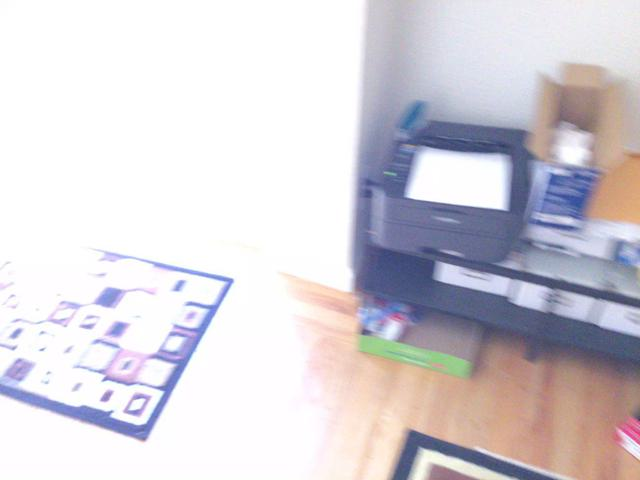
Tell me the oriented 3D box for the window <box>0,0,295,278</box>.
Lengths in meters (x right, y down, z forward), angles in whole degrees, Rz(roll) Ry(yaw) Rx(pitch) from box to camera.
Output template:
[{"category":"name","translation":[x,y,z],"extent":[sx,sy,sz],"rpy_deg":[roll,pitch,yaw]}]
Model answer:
[{"category":"window","translation":[-0.780,-0.470,1.860],"extent":[1.420,0.900,0.200],"rpy_deg":[16,43,20]}]

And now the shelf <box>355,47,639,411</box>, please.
[{"category":"shelf","translation":[0.730,0.000,1.460],"extent":[1.190,0.650,0.450],"rpy_deg":[16,43,20]}]

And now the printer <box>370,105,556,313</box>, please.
[{"category":"printer","translation":[0.360,-0.090,1.500],"extent":[0.360,0.350,0.310],"rpy_deg":[16,43,20]}]
